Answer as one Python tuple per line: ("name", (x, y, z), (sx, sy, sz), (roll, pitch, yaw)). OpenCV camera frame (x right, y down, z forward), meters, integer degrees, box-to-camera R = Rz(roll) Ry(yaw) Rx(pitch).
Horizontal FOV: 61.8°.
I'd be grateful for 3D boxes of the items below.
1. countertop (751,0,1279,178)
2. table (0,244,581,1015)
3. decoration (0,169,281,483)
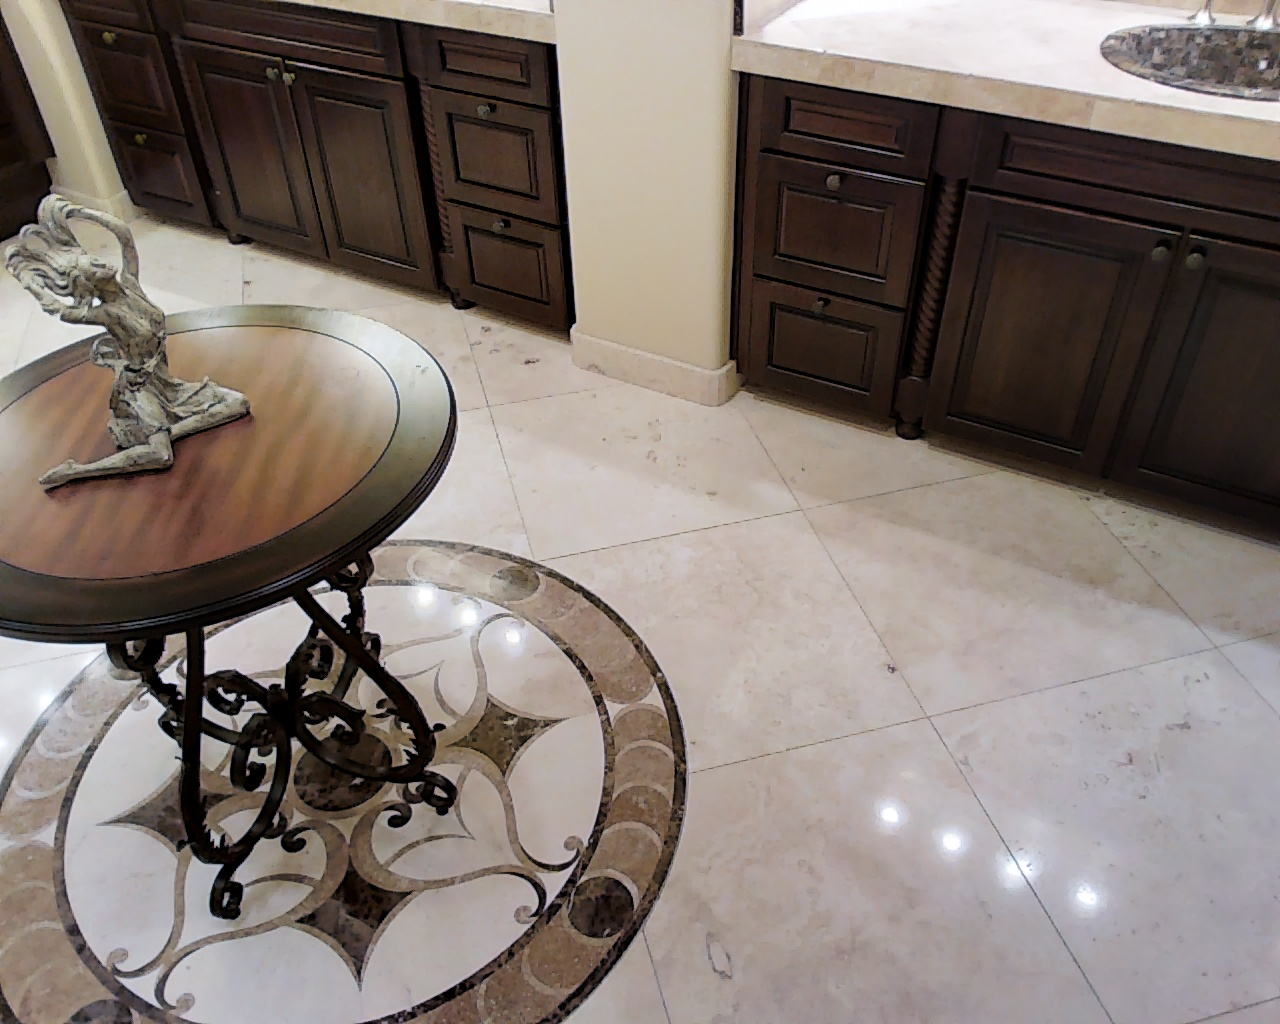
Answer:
("countertop", (1.130, -0.820, 2.020), (1.740, 0.120, 0.590), (20, 45, 22))
("table", (-0.590, 0.140, 1.650), (0.760, 0.740, 0.750), (10, 42, 13))
("decoration", (-0.620, -0.230, 1.310), (0.210, 0.280, 0.250), (4, 41, 6))
